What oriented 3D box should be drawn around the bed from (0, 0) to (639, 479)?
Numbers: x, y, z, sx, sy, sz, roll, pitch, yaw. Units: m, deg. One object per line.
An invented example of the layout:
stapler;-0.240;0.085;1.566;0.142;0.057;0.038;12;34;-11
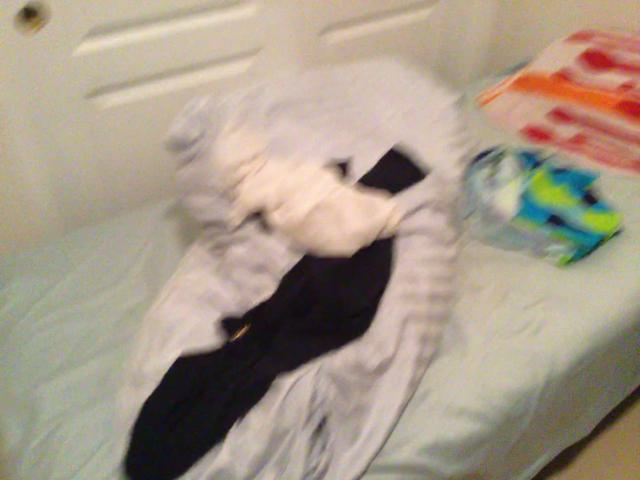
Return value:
bed;0.210;-0.080;1.410;1.930;0.680;1.160;-19;40;-25
